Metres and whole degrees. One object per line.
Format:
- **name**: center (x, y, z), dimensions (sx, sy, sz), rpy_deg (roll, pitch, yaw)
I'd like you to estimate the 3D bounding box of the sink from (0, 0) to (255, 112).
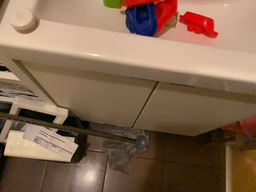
- **sink**: center (0.100, -0.210, 0.460), dimensions (0.610, 0.170, 0.390), rpy_deg (9, 72, -2)
